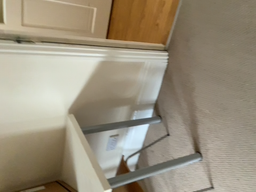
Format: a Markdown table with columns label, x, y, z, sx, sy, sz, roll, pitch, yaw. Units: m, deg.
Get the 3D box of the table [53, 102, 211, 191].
| label | x | y | z | sx | sy | sz | roll | pitch | yaw |
| --- | --- | --- | --- | --- | --- | --- | --- | --- | --- |
| table | -0.080 | 0.700 | 1.580 | 0.640 | 0.740 | 1.090 | 45 | 129 | 45 |
